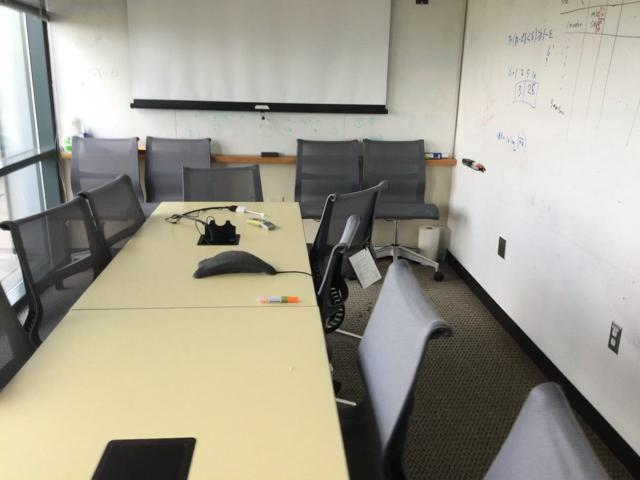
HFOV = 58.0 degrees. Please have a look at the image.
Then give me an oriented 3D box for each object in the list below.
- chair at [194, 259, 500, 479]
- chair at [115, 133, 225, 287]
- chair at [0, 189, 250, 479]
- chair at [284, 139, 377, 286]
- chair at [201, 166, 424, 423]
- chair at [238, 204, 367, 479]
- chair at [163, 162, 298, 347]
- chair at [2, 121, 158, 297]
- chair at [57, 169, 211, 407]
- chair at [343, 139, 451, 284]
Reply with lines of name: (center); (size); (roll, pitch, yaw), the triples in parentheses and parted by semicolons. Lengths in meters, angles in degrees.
chair: (0.020, 0.580, 1.380); (0.510, 0.910, 0.630); (-1, 16, -5)
chair: (-0.980, -0.230, 3.930); (0.560, 0.930, 0.610); (0, 16, -3)
chair: (-0.750, 0.340, 2.240); (0.720, 0.930, 0.720); (4, 16, 13)
chair: (0.050, -0.210, 4.000); (0.580, 0.920, 0.550); (0, 16, -3)
chair: (-0.020, 0.180, 2.790); (0.710, 0.930, 0.760); (12, 19, 36)
chair: (-0.030, 0.380, 2.260); (0.360, 0.890, 0.750); (2, 16, 8)
chair: (-0.490, 0.040, 3.180); (0.640, 0.840, 0.620); (-3, 16, -12)
chair: (-1.520, -0.240, 3.820); (0.690, 1.020, 0.700); (-1, 16, -6)
chair: (-0.810, 0.180, 2.700); (0.400, 0.920, 0.670); (1, 16, 4)
chair: (0.500, -0.220, 4.010); (0.610, 0.890, 0.580); (0, 16, -3)
